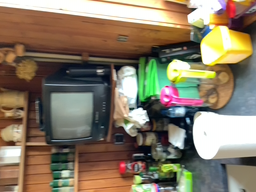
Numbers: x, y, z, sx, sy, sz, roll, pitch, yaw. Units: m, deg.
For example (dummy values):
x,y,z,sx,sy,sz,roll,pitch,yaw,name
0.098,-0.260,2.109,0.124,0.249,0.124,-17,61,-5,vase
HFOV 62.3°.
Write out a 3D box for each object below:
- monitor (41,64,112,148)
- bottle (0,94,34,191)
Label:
x,y,z,sx,sy,sz,roll,pitch,yaw,name
-0.310,0.050,1.260,0.320,0.340,0.380,-122,37,-64,monitor
-0.720,0.430,1.260,0.100,0.220,0.880,143,127,-70,bottle
